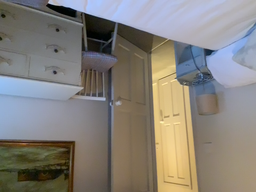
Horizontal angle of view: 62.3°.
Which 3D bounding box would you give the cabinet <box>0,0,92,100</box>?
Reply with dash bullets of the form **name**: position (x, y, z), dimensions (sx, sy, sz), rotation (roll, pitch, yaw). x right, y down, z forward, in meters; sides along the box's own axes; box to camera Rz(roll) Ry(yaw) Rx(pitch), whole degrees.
- **cabinet**: position (-0.890, -0.480, 1.950), dimensions (0.940, 0.860, 0.530), rotation (7, 165, -30)
